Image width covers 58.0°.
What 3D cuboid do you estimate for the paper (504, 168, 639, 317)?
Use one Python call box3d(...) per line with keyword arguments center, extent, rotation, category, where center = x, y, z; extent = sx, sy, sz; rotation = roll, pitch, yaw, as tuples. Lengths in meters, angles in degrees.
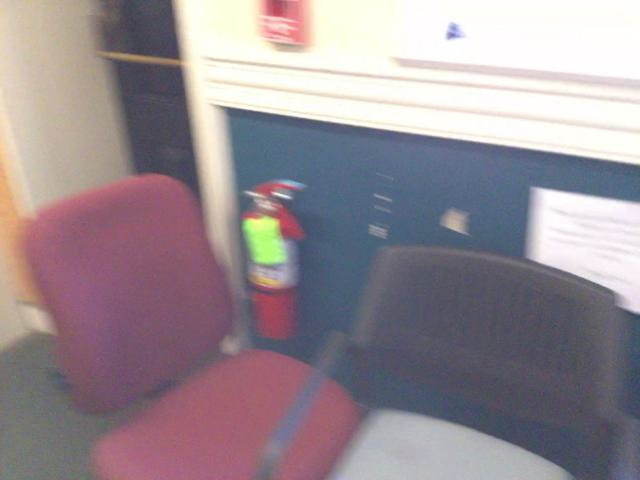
box3d(center=(0.530, 0.010, 1.100), extent=(0.300, 0.220, 0.030), rotation=(20, 32, 22), category="paper")
